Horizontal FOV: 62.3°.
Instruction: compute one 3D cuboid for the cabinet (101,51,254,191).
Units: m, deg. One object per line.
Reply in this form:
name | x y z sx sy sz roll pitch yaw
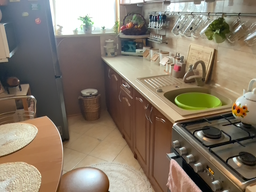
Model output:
cabinet | 0.230 0.160 2.300 0.600 0.910 1.920 -8 23 -17
